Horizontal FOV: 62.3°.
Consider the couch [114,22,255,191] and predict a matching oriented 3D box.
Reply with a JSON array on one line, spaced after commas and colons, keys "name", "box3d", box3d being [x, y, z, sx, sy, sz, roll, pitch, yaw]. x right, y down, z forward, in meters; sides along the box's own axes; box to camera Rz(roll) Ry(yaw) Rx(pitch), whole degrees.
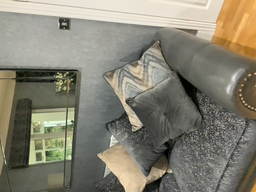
[{"name": "couch", "box3d": [0.460, 0.770, 2.060, 1.070, 0.760, 2.620, -127, 41, -57]}]
